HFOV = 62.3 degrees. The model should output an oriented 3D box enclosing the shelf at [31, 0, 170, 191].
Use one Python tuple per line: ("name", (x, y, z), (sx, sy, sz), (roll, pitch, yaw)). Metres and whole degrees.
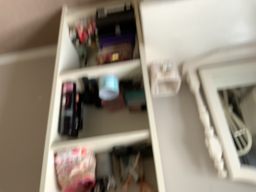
("shelf", (-0.120, -0.010, 0.990), (0.440, 1.050, 0.270), (-8, 151, 3))
